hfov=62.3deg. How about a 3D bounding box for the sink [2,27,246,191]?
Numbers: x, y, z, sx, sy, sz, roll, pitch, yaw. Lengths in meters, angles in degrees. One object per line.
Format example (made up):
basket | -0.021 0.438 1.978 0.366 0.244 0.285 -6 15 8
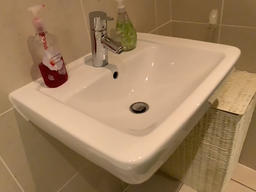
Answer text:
sink | 0.030 -0.010 0.650 0.430 0.190 0.570 19 43 34
